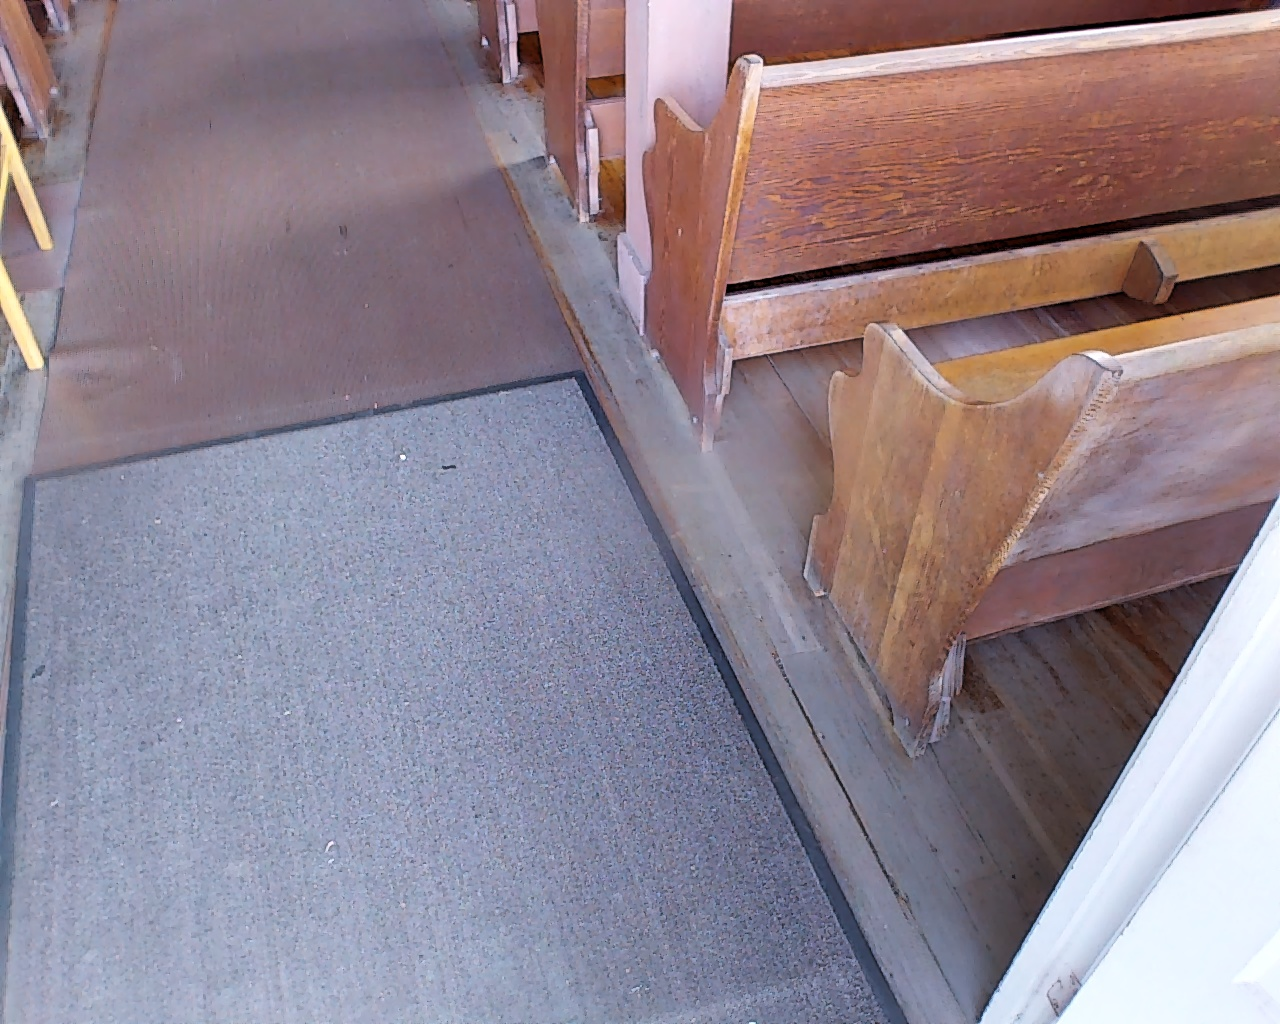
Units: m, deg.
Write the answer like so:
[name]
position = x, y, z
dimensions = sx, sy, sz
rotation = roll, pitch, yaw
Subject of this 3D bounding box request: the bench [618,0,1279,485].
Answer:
[bench]
position = 1.100, -0.750, 2.460
dimensions = 2.229, 0.810, 0.560
rotation = -11, 45, -13
